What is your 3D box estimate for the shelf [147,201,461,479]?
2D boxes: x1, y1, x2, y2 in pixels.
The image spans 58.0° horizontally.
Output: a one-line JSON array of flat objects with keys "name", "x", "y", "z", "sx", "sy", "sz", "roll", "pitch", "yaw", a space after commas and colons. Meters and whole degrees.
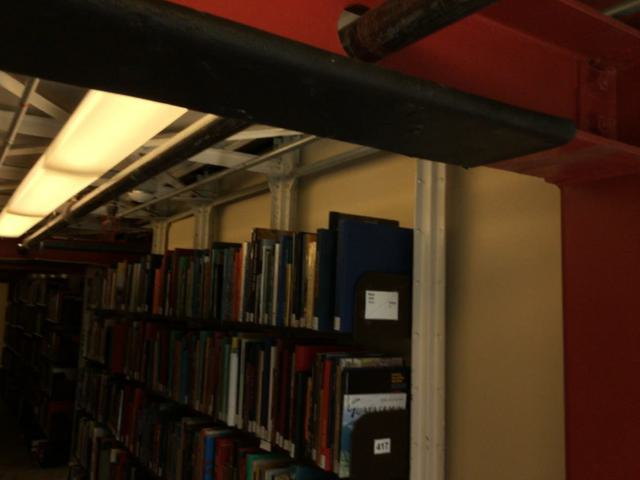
[{"name": "shelf", "x": -0.200, "y": 0.860, "z": 2.130, "sx": 0.410, "sy": 1.810, "sz": 1.500, "roll": 6, "pitch": -6, "yaw": -32}]

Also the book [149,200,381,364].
[{"name": "book", "x": -0.330, "y": 0.160, "z": 2.220, "sx": 0.170, "sy": 0.430, "sz": 1.560, "roll": 6, "pitch": -6, "yaw": -32}]

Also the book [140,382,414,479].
[{"name": "book", "x": -0.290, "y": 0.890, "z": 2.130, "sx": 0.290, "sy": 0.480, "sz": 1.540, "roll": 6, "pitch": -6, "yaw": -32}]

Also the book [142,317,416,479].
[{"name": "book", "x": -0.290, "y": 0.530, "z": 2.220, "sx": 0.310, "sy": 0.380, "sz": 1.580, "roll": 6, "pitch": -6, "yaw": -32}]
